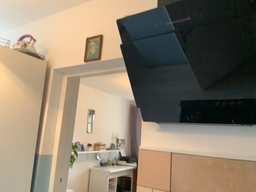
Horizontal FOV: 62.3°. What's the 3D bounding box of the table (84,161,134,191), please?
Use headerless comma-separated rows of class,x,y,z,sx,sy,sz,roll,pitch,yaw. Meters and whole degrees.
table,-0.420,2.030,5.040,0.560,0.790,1.080,-3,-12,35
